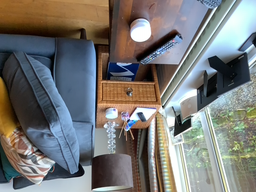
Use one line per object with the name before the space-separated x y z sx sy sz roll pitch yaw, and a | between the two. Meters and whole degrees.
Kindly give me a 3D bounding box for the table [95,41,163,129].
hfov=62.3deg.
table | -0.030 -0.060 1.640 0.420 0.490 0.460 2 151 -9
